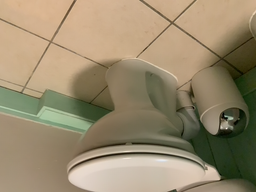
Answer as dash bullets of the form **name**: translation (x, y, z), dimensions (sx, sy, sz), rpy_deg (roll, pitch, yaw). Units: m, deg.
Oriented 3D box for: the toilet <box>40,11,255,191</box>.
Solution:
- **toilet**: translation (0.110, 0.260, 0.750), dimensions (0.670, 0.800, 0.420), rpy_deg (22, 136, -32)
